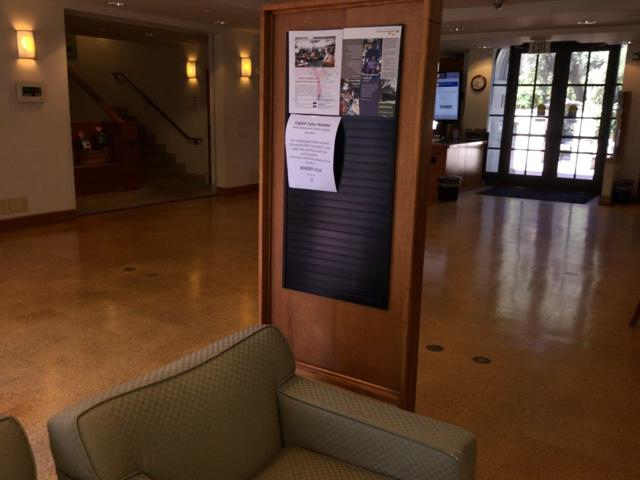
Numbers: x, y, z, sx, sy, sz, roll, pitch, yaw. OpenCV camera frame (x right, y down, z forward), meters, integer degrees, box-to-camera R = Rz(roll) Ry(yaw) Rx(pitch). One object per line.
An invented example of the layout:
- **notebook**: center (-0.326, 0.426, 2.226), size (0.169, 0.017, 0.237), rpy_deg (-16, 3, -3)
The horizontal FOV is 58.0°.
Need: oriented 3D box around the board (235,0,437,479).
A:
- **board**: center (0.060, 0.080, 2.120), size (0.680, 1.840, 0.160), rpy_deg (2, 9, 33)
